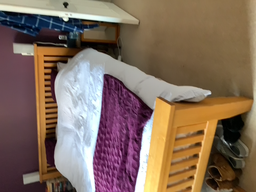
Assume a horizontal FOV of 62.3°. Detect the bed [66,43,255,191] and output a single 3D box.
[{"bbox_3d":[-0.120,0.590,2.360,2.210,0.630,2.000,36,125,55],"label":"bed"}]
